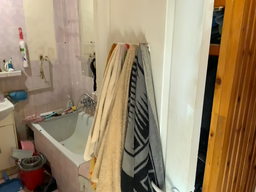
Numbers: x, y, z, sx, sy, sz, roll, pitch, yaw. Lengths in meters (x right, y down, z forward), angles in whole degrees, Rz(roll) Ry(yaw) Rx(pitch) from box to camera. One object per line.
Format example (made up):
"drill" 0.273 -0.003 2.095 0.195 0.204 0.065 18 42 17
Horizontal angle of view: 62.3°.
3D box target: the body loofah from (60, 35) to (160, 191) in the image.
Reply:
"body loofah" -0.130 0.360 1.040 0.200 1.260 0.580 -7 19 -26

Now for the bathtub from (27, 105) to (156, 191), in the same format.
"bathtub" -0.530 0.650 2.470 0.690 0.560 1.630 -13 21 -38
